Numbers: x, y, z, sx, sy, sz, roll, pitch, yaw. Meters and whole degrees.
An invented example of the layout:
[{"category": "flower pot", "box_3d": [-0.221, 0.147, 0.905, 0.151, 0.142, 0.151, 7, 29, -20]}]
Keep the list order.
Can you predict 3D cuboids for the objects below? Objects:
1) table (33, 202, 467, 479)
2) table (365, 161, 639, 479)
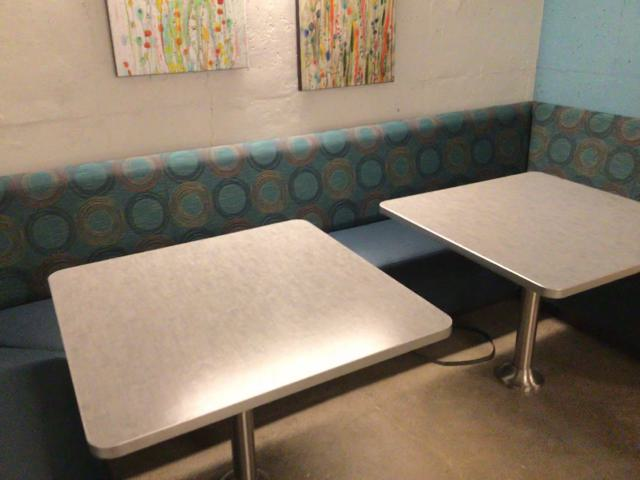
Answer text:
[{"category": "table", "box_3d": [-0.260, 0.460, 1.770, 0.920, 0.750, 0.960, -13, 26, -25]}, {"category": "table", "box_3d": [0.800, 0.220, 2.260, 0.900, 0.750, 0.900, -13, 25, -25]}]
